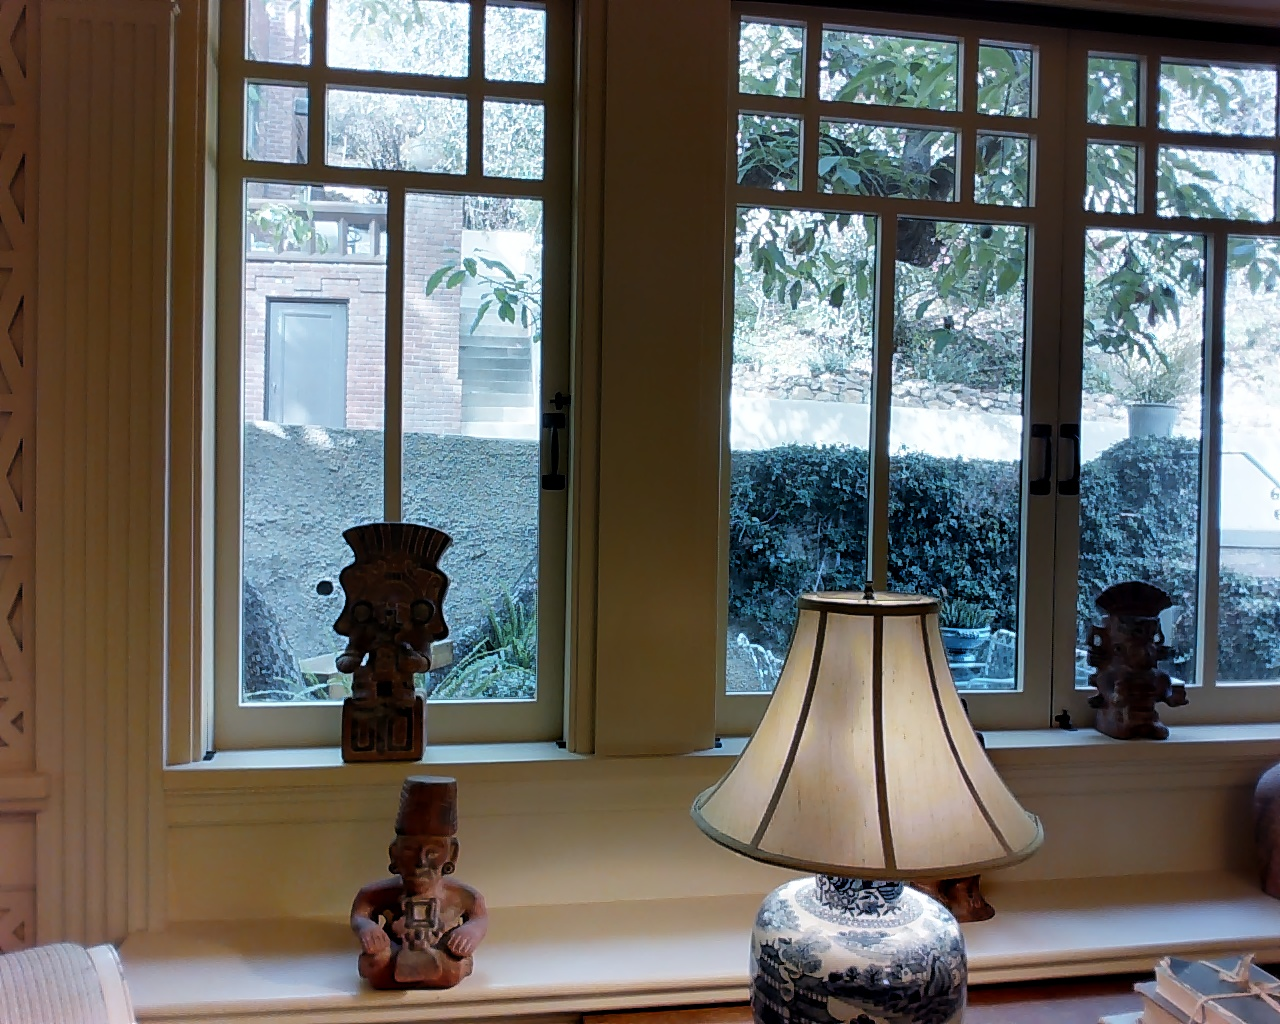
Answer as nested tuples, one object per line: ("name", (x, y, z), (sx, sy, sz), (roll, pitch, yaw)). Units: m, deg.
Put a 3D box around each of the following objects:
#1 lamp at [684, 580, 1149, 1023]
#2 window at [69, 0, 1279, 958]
("lamp", (0.290, 0.380, 1.200), (0.400, 0.580, 0.290), (0, 1, -18))
("window", (0.750, -0.190, 1.910), (3.200, 1.690, 0.270), (1, 1, -9))
